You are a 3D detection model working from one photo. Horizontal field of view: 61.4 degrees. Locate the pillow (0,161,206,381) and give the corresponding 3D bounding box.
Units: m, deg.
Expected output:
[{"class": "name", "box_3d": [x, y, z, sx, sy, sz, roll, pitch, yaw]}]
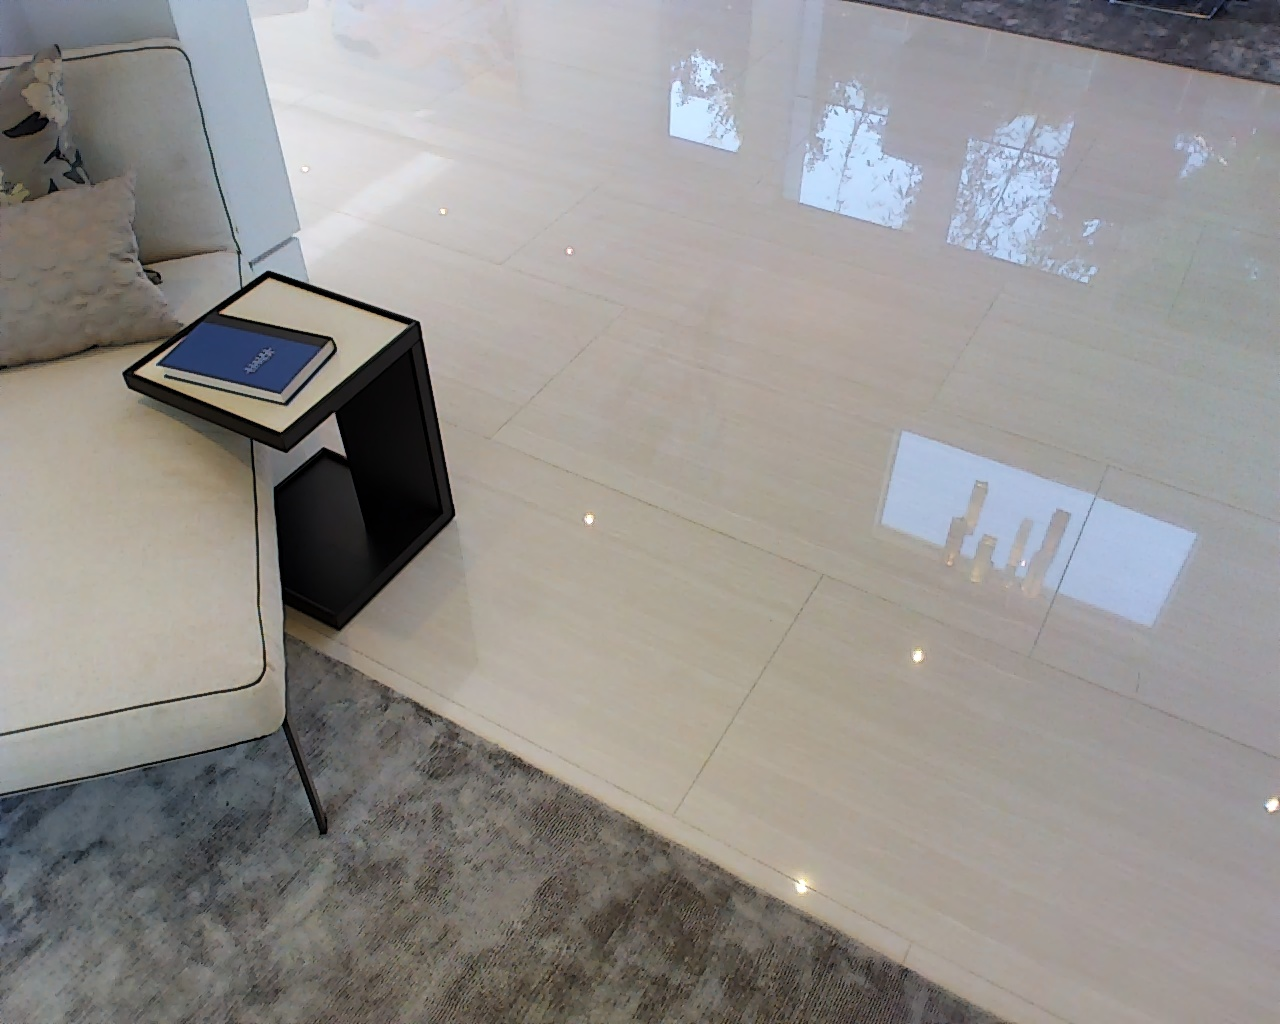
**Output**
[{"class": "pillow", "box_3d": [-1.130, -0.410, 1.910, 0.620, 0.250, 0.240, -11, 45, -11]}]
